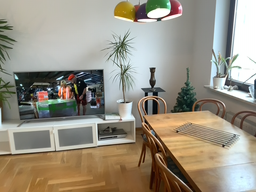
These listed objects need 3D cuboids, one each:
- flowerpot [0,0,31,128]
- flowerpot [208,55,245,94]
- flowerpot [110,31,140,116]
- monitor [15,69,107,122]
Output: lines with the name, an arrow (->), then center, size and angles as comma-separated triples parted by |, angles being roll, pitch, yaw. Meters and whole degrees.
flowerpot -> -1.940, -0.520, 2.840 | 0.820, 1.790, 0.670 | -2, 14, -8
flowerpot -> 1.310, -0.300, 2.870 | 0.260, 0.470, 0.360 | -2, 14, -7
flowerpot -> -0.050, -0.340, 3.310 | 0.420, 1.280, 0.230 | -3, 14, -10
monitor -> -0.950, -0.020, 3.160 | 1.240, 0.730, 0.060 | -3, 14, -11
